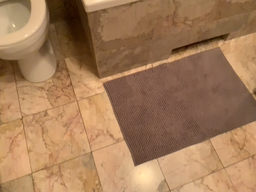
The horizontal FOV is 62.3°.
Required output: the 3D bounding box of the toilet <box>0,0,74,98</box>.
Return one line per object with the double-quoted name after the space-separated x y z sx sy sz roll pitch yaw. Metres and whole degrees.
-0.590 -0.480 0.990 0.360 0.780 0.640 -18 68 -10 "toilet"
